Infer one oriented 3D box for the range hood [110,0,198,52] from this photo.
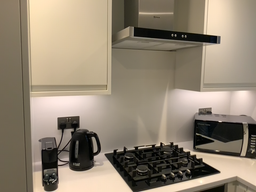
[{"bbox_3d":[0.170,-0.660,1.450,0.520,0.660,0.290,-2,7,-22],"label":"range hood"}]
